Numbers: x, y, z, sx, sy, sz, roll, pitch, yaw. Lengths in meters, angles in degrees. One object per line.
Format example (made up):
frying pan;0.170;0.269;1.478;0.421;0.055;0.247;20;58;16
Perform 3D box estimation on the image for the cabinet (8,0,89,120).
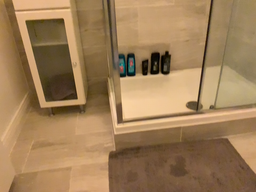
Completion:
cabinet;-0.560;-0.380;1.630;0.360;1.100;0.350;-5;30;-5
